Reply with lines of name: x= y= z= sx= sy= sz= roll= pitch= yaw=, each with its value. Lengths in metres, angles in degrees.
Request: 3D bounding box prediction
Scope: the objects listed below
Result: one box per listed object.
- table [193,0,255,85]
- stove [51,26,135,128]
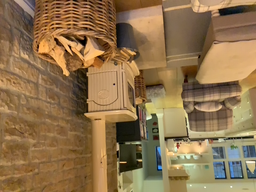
table: x=1.020 y=-0.480 z=2.100 sx=0.580 sy=0.410 sz=1.080 roll=-5 pitch=167 yaw=10
stove: x=-0.320 y=-0.130 z=2.240 sx=0.630 sy=0.840 sz=0.700 roll=-5 pitch=166 yaw=11
